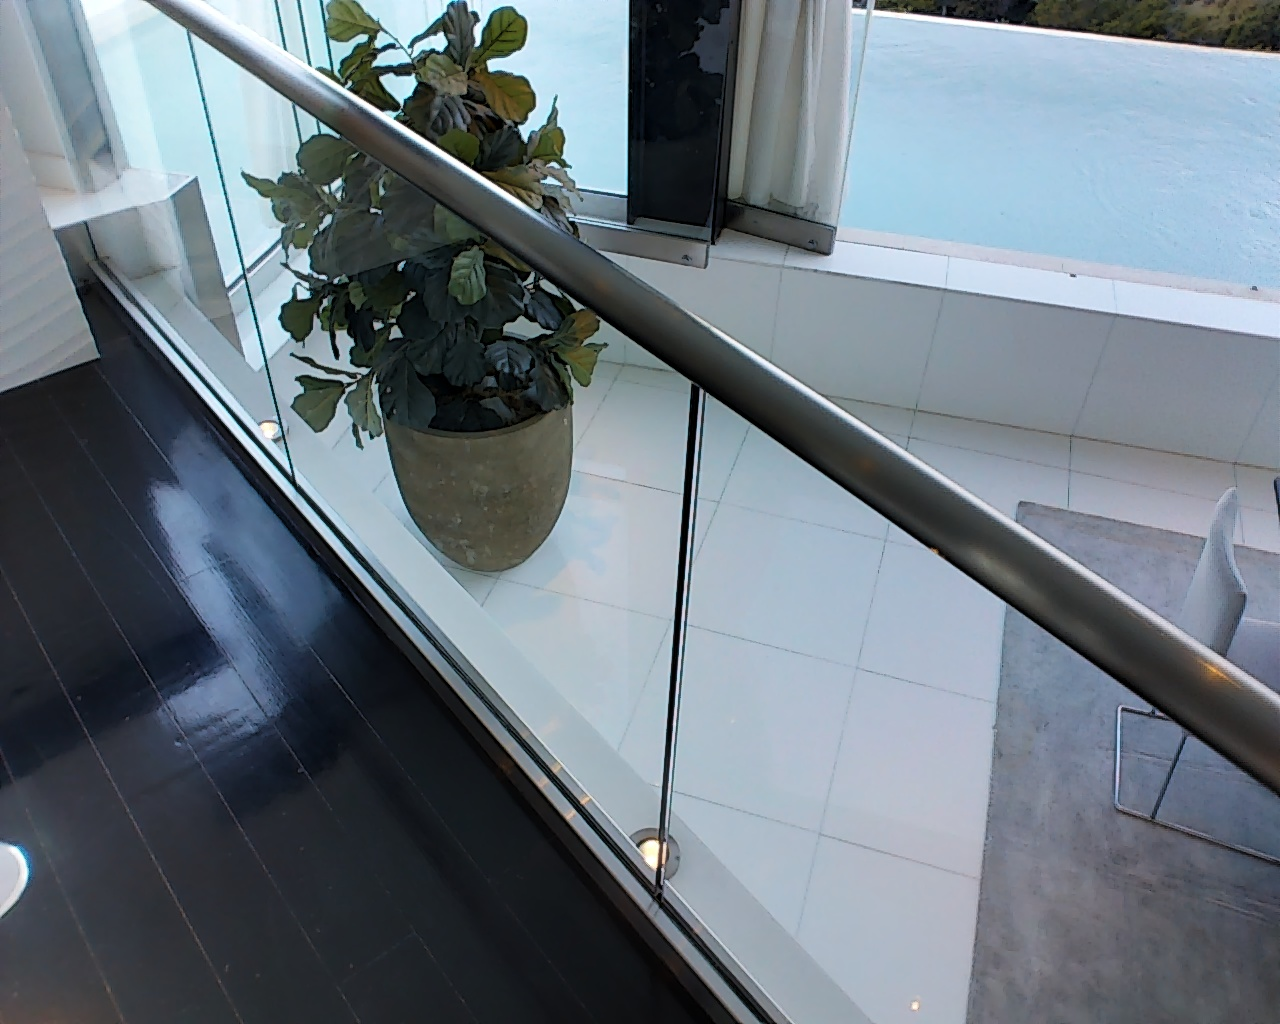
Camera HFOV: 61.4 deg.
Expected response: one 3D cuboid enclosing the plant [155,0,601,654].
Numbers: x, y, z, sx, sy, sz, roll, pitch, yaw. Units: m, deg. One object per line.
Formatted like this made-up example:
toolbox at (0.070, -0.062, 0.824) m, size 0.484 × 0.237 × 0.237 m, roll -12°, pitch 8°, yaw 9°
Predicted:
plant at (-0.580, -0.530, 3.170) m, size 0.910 × 1.830 × 0.880 m, roll -1°, pitch 42°, yaw -3°
